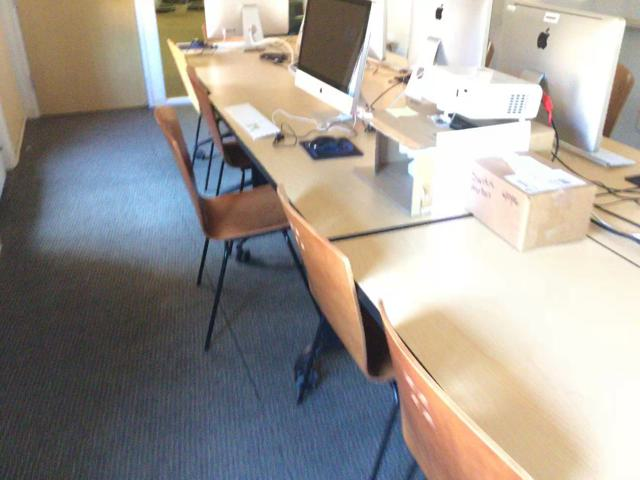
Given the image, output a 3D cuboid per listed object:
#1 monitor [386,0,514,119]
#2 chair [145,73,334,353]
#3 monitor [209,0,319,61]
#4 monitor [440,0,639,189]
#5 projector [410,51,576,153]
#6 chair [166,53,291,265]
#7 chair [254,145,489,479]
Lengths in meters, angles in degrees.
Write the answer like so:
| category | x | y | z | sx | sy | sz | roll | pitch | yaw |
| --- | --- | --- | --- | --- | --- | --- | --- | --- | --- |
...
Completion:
| category | x | y | z | sx | sy | sz | roll | pitch | yaw |
| --- | --- | --- | --- | --- | --- | --- | --- | --- | --- |
| monitor | 0.480 | -0.760 | 2.260 | 0.230 | 0.410 | 0.520 | -12 | 30 | -16 |
| chair | -0.300 | -0.130 | 2.180 | 0.500 | 0.810 | 0.580 | -12 | 30 | -16 |
| monitor | -0.330 | -1.330 | 3.410 | 0.600 | 0.430 | 0.180 | -12 | 30 | -16 |
| monitor | 0.630 | -0.480 | 1.780 | 0.250 | 0.440 | 0.530 | -12 | 30 | -16 |
| projector | 0.470 | -0.400 | 1.630 | 0.320 | 0.170 | 0.300 | -12 | 30 | -16 |
| chair | -0.420 | -0.390 | 2.670 | 0.370 | 0.780 | 0.560 | -12 | 30 | -16 |
| chair | 0.110 | 0.230 | 1.540 | 0.390 | 0.800 | 0.460 | -12 | 30 | -16 |
